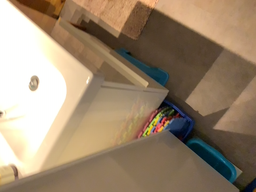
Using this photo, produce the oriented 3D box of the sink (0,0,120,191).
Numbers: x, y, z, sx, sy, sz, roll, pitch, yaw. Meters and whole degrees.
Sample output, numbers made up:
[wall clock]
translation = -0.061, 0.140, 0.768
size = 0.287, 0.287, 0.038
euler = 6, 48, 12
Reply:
[sink]
translation = -0.400, -0.040, 0.760
size = 0.620, 0.130, 0.480
euler = 39, 107, 24
